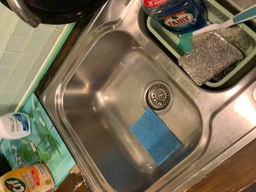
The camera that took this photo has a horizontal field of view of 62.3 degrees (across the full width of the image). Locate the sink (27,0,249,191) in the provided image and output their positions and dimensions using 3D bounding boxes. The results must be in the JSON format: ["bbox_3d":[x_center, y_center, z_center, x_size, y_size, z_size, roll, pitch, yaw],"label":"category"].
[{"bbox_3d":[0.000,0.070,0.700,0.450,0.280,0.520,-49,68,24],"label":"sink"}]

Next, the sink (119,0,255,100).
[{"bbox_3d":[0.190,-0.160,0.580,0.180,0.280,0.280,-49,68,24],"label":"sink"}]
